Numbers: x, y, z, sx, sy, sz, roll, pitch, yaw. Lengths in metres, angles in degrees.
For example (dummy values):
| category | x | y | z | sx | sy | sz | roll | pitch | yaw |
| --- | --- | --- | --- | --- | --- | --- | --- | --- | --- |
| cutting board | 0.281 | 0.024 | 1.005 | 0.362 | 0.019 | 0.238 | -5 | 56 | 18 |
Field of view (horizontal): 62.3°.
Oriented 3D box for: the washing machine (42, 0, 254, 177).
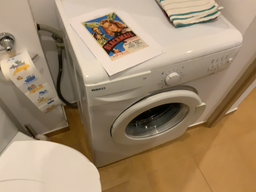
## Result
| category | x | y | z | sx | sy | sz | roll | pitch | yaw |
| --- | --- | --- | --- | --- | --- | --- | --- | --- | --- |
| washing machine | 0.010 | -0.060 | 1.110 | 0.620 | 0.850 | 0.510 | -18 | 59 | -19 |
